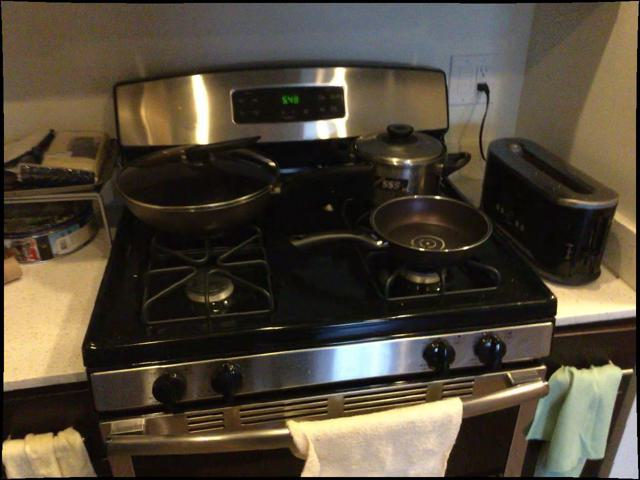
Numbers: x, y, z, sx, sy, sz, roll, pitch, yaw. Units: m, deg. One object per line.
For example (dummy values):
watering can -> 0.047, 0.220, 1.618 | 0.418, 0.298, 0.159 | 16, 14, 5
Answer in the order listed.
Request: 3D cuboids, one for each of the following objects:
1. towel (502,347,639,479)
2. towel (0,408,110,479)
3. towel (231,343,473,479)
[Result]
towel -> 0.479, 0.381, 1.110 | 0.170, 0.341, 0.100 | -4, 29, -10
towel -> -0.469, 0.381, 0.960 | 0.200, 0.190, 0.050 | -4, 29, -10
towel -> 0.040, 0.331, 0.980 | 0.359, 0.200, 0.180 | -4, 29, -10
